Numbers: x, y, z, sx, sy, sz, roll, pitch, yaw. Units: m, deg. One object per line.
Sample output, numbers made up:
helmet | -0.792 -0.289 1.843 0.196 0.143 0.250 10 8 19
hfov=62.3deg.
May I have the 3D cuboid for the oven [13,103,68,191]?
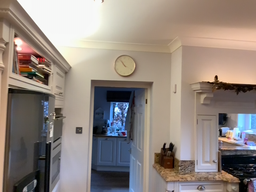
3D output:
oven | -1.020 0.570 2.580 0.430 0.940 0.620 2 -3 -7
